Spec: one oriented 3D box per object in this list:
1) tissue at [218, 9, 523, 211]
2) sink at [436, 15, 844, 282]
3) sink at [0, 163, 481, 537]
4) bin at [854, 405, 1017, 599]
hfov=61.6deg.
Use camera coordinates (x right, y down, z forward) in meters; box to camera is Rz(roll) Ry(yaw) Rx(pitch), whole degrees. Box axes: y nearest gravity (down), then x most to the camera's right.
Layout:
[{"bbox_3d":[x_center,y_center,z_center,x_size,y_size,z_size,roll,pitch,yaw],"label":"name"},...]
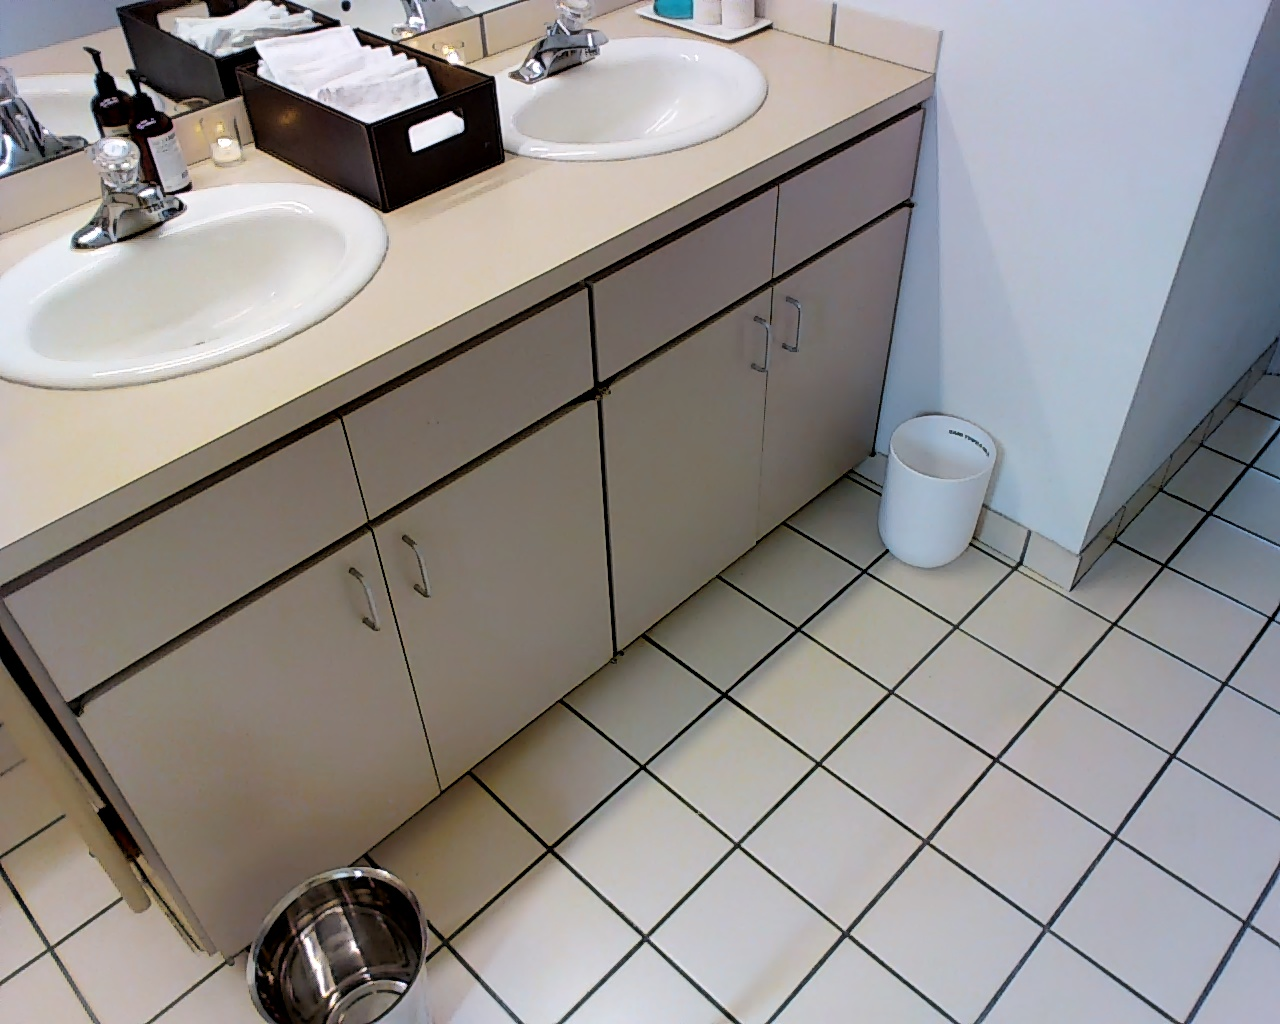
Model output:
[{"bbox_3d":[-0.380,-0.580,1.520,0.360,0.120,0.240,33,53,32],"label":"tissue"},{"bbox_3d":[0.010,-0.600,1.710,0.360,0.160,0.530,33,53,32],"label":"sink"},{"bbox_3d":[-0.510,-0.230,1.330,0.320,0.150,0.520,33,53,32],"label":"sink"},{"bbox_3d":[0.560,-0.020,2.060,0.190,0.260,0.190,33,53,32],"label":"bin"}]
